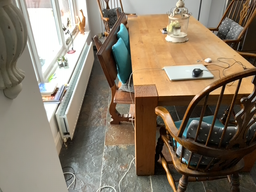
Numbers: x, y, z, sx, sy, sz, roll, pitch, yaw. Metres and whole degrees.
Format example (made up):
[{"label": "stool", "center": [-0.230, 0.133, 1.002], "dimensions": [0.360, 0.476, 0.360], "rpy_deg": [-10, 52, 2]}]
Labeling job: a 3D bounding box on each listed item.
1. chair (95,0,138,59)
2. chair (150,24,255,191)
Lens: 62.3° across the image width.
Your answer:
[{"label": "chair", "center": [-0.200, -1.300, 3.700], "dimensions": [0.540, 1.100, 0.520], "rpy_deg": [-18, 36, -24]}, {"label": "chair", "center": [0.470, 0.210, 1.340], "dimensions": [0.540, 1.130, 0.630], "rpy_deg": [-2, 33, -1]}]
